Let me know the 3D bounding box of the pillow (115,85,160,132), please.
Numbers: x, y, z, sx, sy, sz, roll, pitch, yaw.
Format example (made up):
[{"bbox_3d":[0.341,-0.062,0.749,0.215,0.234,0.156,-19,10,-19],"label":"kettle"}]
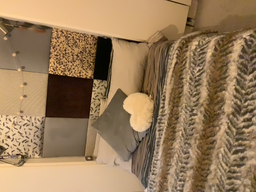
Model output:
[{"bbox_3d":[0.110,0.110,2.060,0.160,0.330,0.390,-21,3,34],"label":"pillow"}]

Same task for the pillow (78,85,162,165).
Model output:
[{"bbox_3d":[-0.080,0.340,2.290,0.610,0.580,0.470,-31,40,31],"label":"pillow"}]
